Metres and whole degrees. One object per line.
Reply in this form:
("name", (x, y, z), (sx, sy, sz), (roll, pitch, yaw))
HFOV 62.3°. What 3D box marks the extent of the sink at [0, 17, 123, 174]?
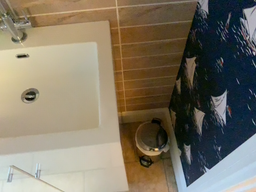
("sink", (-0.340, -0.010, 0.660), (0.600, 0.140, 0.450), (-6, 59, -3))
